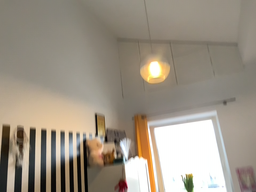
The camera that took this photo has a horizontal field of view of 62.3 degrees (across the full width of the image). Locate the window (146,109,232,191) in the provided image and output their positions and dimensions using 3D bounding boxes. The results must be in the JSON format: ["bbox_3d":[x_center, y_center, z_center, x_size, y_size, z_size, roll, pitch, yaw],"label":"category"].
[{"bbox_3d":[0.950,1.060,3.420,1.120,1.510,0.180,-14,-18,23],"label":"window"}]
